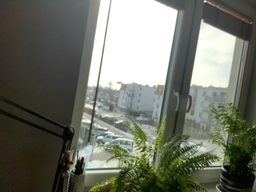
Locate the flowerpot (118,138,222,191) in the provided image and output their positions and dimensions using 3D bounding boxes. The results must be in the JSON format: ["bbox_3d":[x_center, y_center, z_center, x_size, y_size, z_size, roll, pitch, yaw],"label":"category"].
[{"bbox_3d":[0.190,0.450,1.070,0.350,0.390,0.320,9,1,-29],"label":"flowerpot"}]
